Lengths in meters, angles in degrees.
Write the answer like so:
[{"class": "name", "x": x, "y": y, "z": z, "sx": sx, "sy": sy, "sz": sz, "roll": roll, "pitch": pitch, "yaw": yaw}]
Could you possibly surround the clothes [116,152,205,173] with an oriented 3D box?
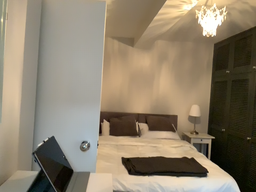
[{"class": "clothes", "x": 0.310, "y": 0.710, "z": 2.290, "sx": 0.840, "sy": 0.040, "sz": 0.520, "roll": 3, "pitch": 1, "yaw": -6}]
